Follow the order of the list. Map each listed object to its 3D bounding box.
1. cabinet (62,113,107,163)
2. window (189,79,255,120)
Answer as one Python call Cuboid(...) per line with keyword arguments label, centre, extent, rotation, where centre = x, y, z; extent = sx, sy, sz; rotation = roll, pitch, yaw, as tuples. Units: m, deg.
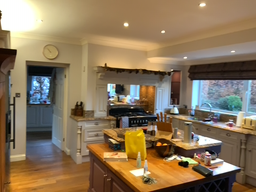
Cuboid(label="cabinet", centre=(-0.960, 0.870, 4.670), extent=(0.810, 0.910, 0.570), rotation=(1, 4, -29))
Cuboid(label="window", centre=(2.180, 0.020, 4.890), extent=(0.160, 0.800, 1.860), rotation=(1, 4, -30))
